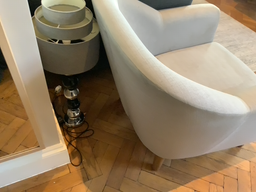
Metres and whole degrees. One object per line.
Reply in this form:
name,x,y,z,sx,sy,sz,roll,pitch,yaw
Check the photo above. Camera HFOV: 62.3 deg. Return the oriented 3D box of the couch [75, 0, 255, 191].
couch,0.280,-0.070,1.050,0.830,0.720,0.750,-16,51,-22
